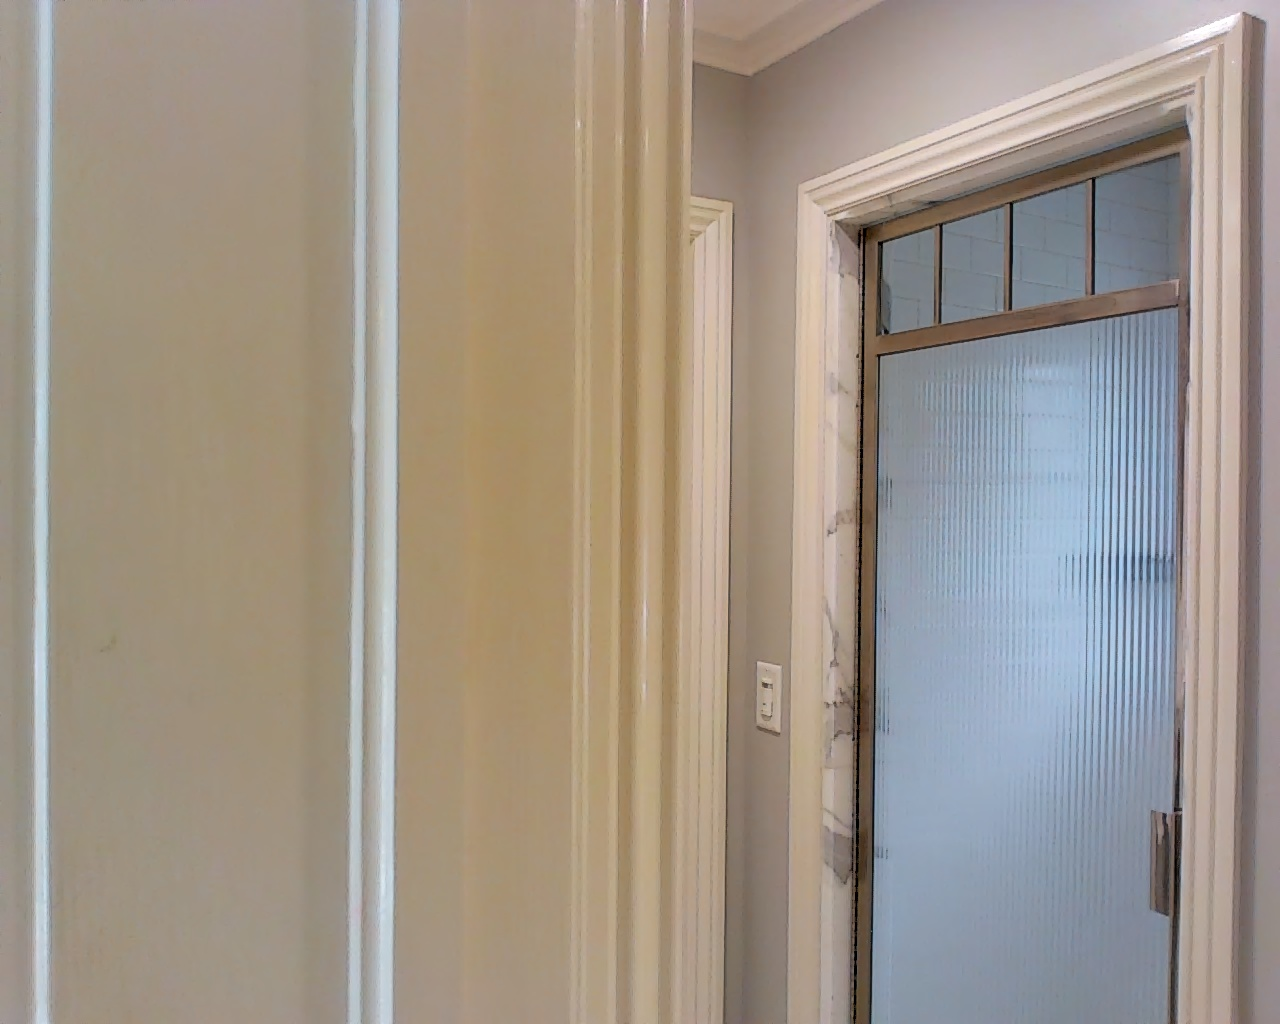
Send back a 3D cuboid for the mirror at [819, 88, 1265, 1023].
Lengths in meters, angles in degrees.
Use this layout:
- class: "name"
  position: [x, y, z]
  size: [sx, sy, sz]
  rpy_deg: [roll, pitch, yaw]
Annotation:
- class: "mirror"
  position: [0.540, 0.420, 1.590]
  size: [0.160, 1.840, 0.650]
  rpy_deg: [0, 0, -30]
